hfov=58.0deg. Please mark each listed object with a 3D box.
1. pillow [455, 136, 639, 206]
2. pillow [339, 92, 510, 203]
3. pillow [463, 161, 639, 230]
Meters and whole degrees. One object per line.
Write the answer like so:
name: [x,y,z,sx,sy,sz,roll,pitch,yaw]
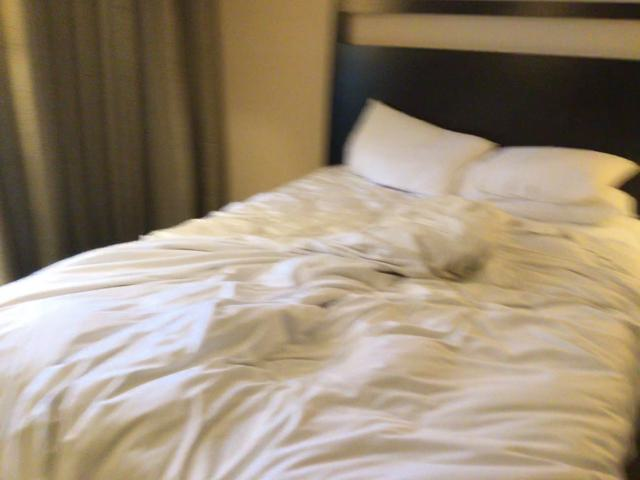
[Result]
pillow: [0.870,-0.280,2.210,0.570,0.120,0.430,12,23,29]
pillow: [0.430,-0.430,2.520,0.660,0.360,0.300,18,26,41]
pillow: [0.900,-0.190,2.250,0.570,0.110,0.380,12,23,29]
